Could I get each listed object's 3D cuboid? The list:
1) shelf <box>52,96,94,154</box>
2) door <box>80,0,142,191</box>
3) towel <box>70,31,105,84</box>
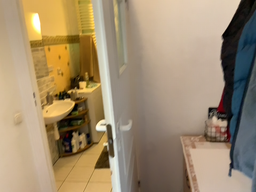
[{"bbox_3d":[-0.780,0.410,3.090,0.380,0.750,0.370,-2,15,9],"label":"shelf"},{"bbox_3d":[-0.020,0.190,1.330,0.110,2.120,0.970,-3,15,5],"label":"door"},{"bbox_3d":[-0.670,-0.650,3.600,0.430,0.830,0.270,-2,15,10],"label":"towel"}]
